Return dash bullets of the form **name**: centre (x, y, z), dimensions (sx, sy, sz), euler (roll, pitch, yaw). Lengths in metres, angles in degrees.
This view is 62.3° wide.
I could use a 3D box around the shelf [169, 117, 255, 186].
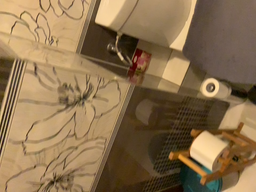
- **shelf**: centre (0.430, 0.230, 0.990), dimensions (0.170, 0.510, 0.200), euler (24, 101, 43)
